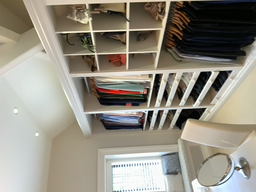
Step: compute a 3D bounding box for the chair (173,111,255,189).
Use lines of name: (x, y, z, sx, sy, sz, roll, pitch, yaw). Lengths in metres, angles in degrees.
chair: (1.040, 0.520, 2.090, 0.500, 1.010, 0.540, 92, 174, -50)
